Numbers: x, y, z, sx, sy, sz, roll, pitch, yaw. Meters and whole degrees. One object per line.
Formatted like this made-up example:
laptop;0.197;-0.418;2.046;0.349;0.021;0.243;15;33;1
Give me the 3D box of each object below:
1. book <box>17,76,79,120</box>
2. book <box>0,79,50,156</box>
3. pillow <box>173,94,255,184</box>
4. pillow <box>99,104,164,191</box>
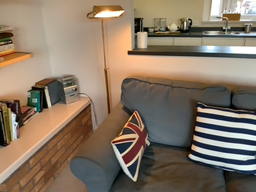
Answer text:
book;-0.780;0.000;2.140;0.340;0.250;0.460;6;25;17
book;-1.050;0.260;1.380;0.300;0.360;1.210;6;25;18
pillow;0.580;0.270;1.310;0.450;0.370;0.140;29;29;4
pillow;0.040;0.310;1.350;0.150;0.330;0.460;30;30;8
